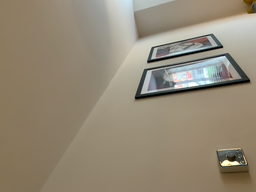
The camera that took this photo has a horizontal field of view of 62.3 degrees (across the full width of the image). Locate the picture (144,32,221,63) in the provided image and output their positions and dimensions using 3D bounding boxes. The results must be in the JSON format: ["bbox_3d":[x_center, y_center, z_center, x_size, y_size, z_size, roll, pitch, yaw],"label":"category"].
[{"bbox_3d":[0.610,-0.580,2.490,0.580,0.790,0.060,-66,-36,-62],"label":"picture"}]

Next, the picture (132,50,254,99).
[{"bbox_3d":[0.480,-0.200,1.770,0.700,0.810,0.030,-66,-36,-62],"label":"picture"}]
